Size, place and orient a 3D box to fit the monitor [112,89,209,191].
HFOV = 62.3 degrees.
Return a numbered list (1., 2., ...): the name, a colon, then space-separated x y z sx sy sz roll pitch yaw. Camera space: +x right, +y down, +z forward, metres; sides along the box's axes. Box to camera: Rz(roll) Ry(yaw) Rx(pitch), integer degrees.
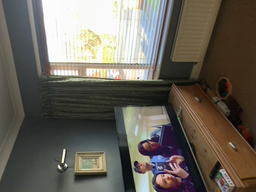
1. monitor: 0.260 0.450 2.240 0.090 0.720 1.420 101 163 -44
